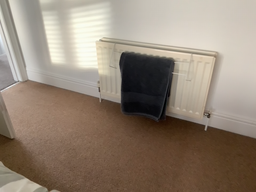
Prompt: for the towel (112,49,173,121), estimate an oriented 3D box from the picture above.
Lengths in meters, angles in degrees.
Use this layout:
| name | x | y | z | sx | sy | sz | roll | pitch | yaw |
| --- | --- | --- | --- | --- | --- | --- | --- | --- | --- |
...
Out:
| name | x | y | z | sx | sy | sz | roll | pitch | yaw |
| --- | --- | --- | --- | --- | --- | --- | --- | --- | --- |
| towel | 0.100 | -0.090 | 1.670 | 0.420 | 0.480 | 0.130 | 15 | 34 | 22 |
